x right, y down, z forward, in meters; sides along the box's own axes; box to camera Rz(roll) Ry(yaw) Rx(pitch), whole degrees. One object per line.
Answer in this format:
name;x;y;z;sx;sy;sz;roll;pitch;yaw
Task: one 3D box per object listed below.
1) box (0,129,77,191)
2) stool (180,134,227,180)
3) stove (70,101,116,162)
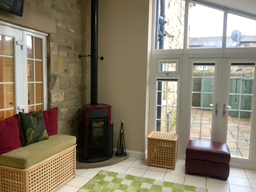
box;-1.200;0.890;2.830;0.510;0.630;1.060;4;5;19
stool;1.250;0.970;3.540;0.650;0.460;0.670;4;5;20
stove;-0.670;0.600;3.900;0.670;0.920;0.630;-1;5;-25
